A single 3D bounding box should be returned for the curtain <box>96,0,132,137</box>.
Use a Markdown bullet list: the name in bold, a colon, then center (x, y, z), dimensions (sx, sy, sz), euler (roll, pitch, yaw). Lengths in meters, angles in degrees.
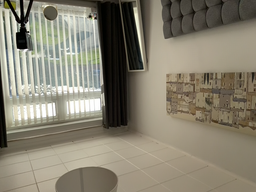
- **curtain**: center (-0.210, -0.400, 3.270), dimensions (0.390, 1.990, 0.260), euler (-6, -173, -28)
